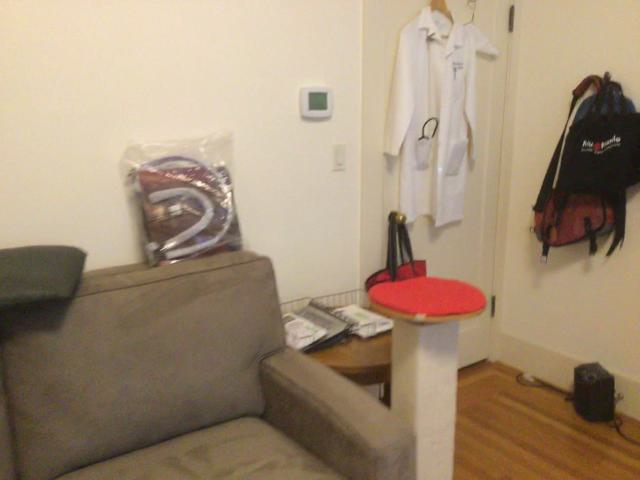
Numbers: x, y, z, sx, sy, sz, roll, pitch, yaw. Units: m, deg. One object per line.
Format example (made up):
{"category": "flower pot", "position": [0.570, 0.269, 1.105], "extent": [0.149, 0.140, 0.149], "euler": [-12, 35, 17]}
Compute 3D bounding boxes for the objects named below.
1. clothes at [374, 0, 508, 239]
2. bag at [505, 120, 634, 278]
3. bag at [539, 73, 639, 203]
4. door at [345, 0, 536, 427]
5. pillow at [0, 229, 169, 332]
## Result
{"category": "clothes", "position": [0.530, -0.550, 2.500], "extent": [0.630, 1.010, 0.150], "euler": [-9, 14, -33]}
{"category": "bag", "position": [1.080, -0.200, 2.550], "extent": [0.220, 0.630, 0.440], "euler": [-9, 14, -33]}
{"category": "bag", "position": [1.150, -0.420, 2.380], "extent": [0.240, 0.480, 0.370], "euler": [-9, 14, -33]}
{"category": "door", "position": [0.560, -0.300, 2.590], "extent": [0.960, 2.080, 0.170], "euler": [-9, 14, -33]}
{"category": "pillow", "position": [-0.750, 0.100, 1.490], "extent": [0.600, 0.140, 0.360], "euler": [-9, 14, -33]}
